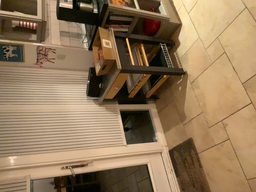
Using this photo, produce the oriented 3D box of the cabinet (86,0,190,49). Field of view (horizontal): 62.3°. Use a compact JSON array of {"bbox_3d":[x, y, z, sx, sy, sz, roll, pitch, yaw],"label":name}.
[{"bbox_3d":[0.060,-1.080,2.450,0.630,0.900,0.730,130,134,-53],"label":"cabinet"}]
